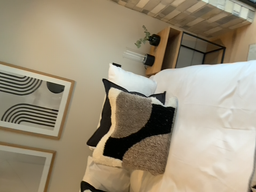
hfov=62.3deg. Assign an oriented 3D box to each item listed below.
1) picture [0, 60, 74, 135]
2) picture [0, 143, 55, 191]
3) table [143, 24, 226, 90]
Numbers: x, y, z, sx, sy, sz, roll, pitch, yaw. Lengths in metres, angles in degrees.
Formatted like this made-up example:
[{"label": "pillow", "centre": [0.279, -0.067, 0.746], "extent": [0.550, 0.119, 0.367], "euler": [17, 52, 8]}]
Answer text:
[{"label": "picture", "centre": [-0.870, 0.010, 1.750], "extent": [0.060, 0.720, 0.490], "euler": [180, 104, -73]}, {"label": "picture", "centre": [-1.030, 0.650, 1.710], "extent": [0.040, 0.730, 0.510], "euler": [178, 106, -73]}, {"label": "table", "centre": [0.520, -0.330, 1.990], "extent": [0.310, 0.600, 0.420], "euler": [-174, 97, -73]}]
